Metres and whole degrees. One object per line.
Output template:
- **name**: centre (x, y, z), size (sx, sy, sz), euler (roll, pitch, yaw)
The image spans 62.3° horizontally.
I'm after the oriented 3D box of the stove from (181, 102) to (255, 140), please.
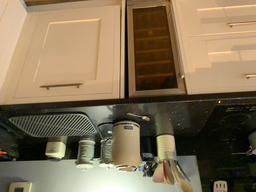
- **stove**: centre (0.690, 0.160, 1.270), size (0.670, 0.010, 0.540), euler (-4, 151, 4)
